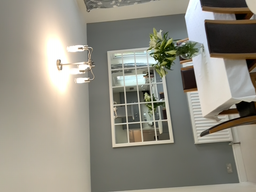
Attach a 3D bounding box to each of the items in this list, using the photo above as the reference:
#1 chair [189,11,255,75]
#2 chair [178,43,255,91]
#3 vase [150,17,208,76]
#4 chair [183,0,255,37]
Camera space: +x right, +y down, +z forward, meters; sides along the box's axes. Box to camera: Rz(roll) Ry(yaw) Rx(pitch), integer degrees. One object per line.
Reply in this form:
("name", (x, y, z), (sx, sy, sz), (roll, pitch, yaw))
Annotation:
("chair", (1.140, -0.510, 2.120), (0.540, 0.880, 0.390), (76, -171, -79))
("chair", (1.170, -0.360, 2.770), (0.520, 0.890, 0.400), (76, -171, -79))
("vase", (0.560, -0.570, 2.510), (0.480, 0.540, 0.430), (81, -176, -67))
("chair", (1.100, -0.970, 2.220), (0.540, 0.880, 0.390), (76, -171, -79))
